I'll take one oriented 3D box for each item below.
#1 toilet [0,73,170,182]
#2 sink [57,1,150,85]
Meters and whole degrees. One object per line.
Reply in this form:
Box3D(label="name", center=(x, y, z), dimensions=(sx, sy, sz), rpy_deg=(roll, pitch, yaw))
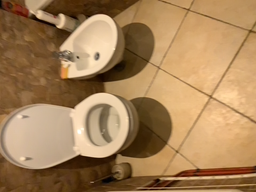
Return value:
Box3D(label="toilet", center=(-0.210, 0.180, 1.230), dimensions=(0.510, 0.820, 0.380), rpy_deg=(-18, 77, 35))
Box3D(label="sink", center=(-0.180, -0.320, 1.480), dimensions=(0.510, 0.340, 0.330), rpy_deg=(-19, 76, 35))
